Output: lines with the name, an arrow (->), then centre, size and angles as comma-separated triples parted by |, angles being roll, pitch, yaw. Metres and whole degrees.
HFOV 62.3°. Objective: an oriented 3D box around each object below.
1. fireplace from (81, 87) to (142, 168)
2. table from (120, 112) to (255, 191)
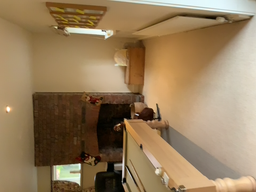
fireplace -> -0.460, 0.700, 5.340 | 0.900, 1.380, 1.750 | -148, 57, -74
table -> 0.490, 1.090, 2.820 | 2.120, 0.780, 1.240 | -143, 54, -74
